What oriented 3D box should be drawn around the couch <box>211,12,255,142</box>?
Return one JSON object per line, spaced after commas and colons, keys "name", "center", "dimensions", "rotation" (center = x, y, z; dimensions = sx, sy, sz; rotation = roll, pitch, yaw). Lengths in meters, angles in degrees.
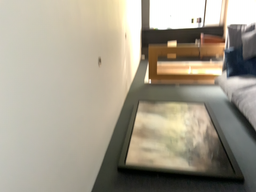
{"name": "couch", "center": [1.810, -0.460, 2.890], "dimensions": [2.080, 0.700, 1.200], "rotation": [-72, -19, -66]}
